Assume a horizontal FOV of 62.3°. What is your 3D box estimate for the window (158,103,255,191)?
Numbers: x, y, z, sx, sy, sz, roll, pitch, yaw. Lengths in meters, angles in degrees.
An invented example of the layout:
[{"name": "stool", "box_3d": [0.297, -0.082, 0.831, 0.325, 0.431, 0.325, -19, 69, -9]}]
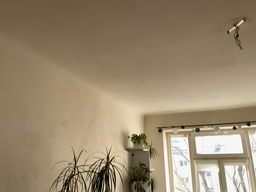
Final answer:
[{"name": "window", "box_3d": [1.640, 1.210, 3.770, 2.130, 2.030, 0.200, -8, -18, 24]}]
